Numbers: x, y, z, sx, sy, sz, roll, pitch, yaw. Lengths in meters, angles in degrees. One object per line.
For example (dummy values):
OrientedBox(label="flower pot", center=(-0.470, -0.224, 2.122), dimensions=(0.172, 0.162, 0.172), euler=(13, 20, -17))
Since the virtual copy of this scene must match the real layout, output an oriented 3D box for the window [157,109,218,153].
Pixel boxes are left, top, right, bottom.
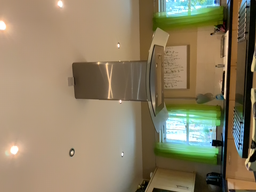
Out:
OrientedBox(label="window", center=(1.150, 0.680, 4.210), dimensions=(0.160, 1.130, 0.760), euler=(-23, -67, -69))
